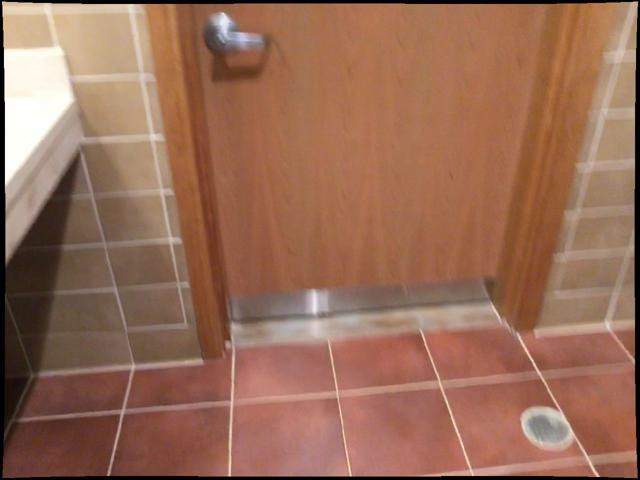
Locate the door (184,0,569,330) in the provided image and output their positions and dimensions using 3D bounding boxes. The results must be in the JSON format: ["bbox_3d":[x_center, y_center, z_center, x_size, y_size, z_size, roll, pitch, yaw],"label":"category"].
[{"bbox_3d":[0.140,-0.631,1.380,0.919,2.061,0.090,-5,33,-2],"label":"door"}]
